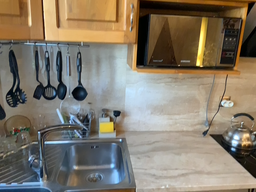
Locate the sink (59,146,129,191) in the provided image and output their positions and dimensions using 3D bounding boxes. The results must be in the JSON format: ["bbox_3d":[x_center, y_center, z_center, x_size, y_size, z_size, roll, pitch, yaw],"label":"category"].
[{"bbox_3d":[-0.190,0.460,1.250,0.340,0.140,0.390,1,17,-7],"label":"sink"}]
